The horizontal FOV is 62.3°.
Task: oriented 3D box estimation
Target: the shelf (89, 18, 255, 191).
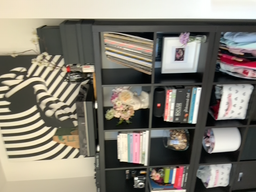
[{"bbox_3d":[0.510,0.170,1.770,0.420,1.530,1.520,-105,14,-66],"label":"shelf"}]
